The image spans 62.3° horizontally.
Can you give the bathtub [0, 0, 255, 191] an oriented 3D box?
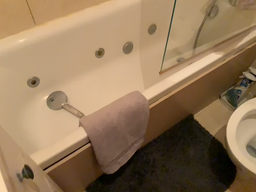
[{"bbox_3d":[-0.080,-0.080,1.210,1.650,0.550,0.700,-29,59,-21],"label":"bathtub"}]
